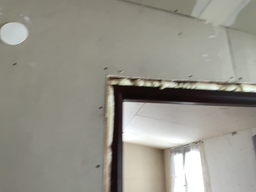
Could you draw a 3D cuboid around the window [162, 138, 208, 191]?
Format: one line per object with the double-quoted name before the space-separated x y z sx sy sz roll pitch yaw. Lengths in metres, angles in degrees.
"window" 0.960 1.590 3.730 0.160 1.500 1.420 2 -19 -10
